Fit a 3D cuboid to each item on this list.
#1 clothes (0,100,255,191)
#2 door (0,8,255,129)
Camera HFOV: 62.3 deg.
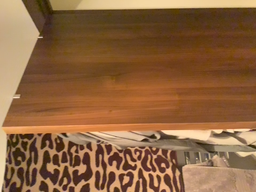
[{"bbox_3d":[0.390,0.330,0.780,0.280,1.930,0.560,91,177,-67],"label":"clothes"},{"bbox_3d":[0.590,-0.190,0.900,0.030,1.970,0.700,90,178,-49],"label":"door"}]
